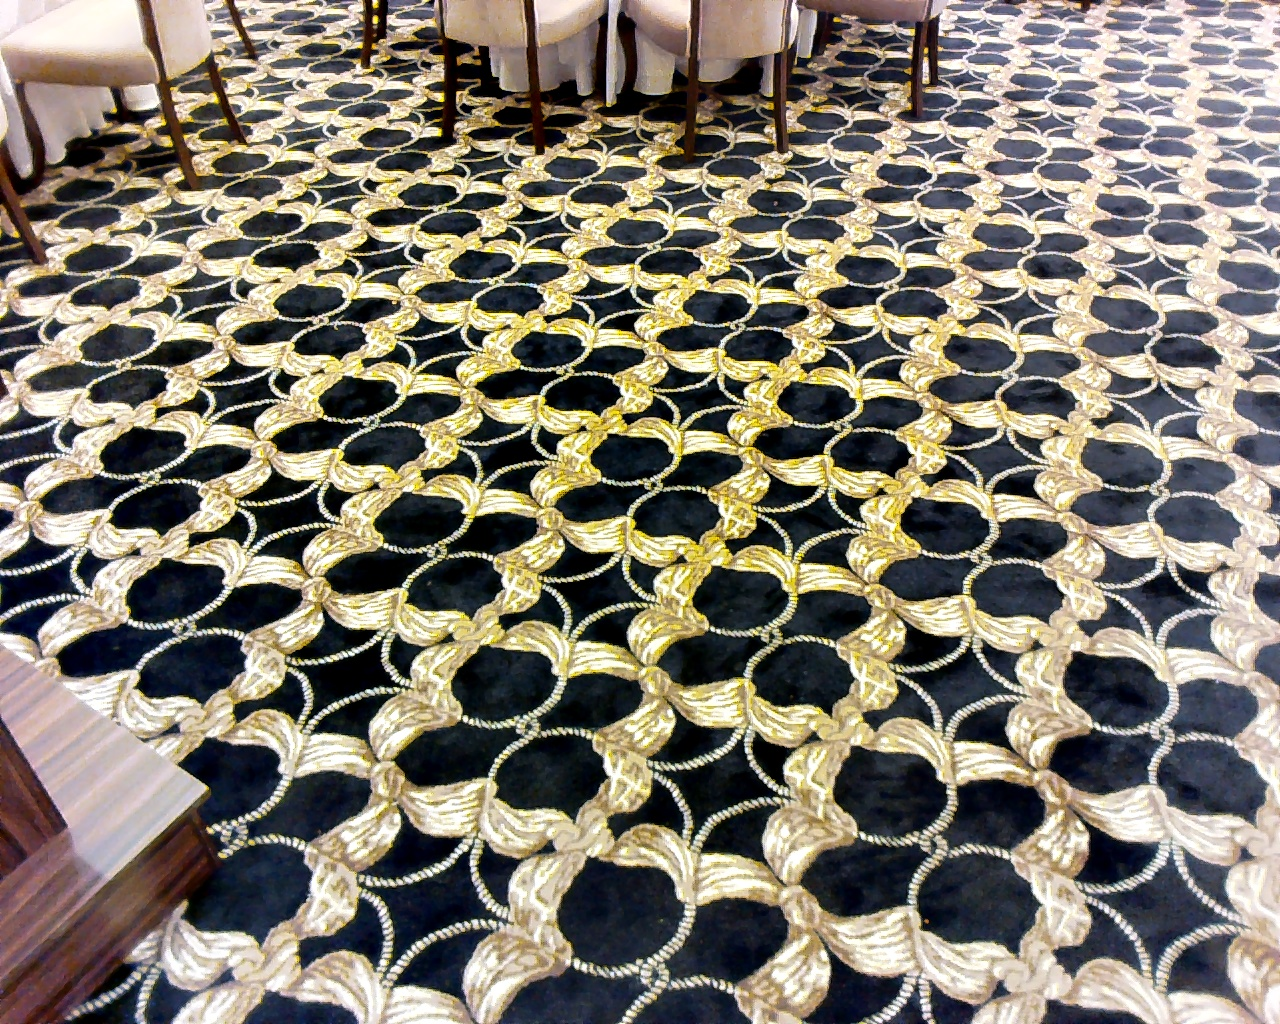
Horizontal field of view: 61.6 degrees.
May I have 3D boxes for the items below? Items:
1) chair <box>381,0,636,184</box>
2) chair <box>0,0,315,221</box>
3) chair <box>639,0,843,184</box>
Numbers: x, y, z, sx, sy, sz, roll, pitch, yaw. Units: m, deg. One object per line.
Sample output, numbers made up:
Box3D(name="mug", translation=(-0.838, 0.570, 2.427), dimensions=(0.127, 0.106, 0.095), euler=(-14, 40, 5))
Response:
Box3D(name="chair", translation=(-0.420, -1.820, 3.600), dimensions=(0.600, 1.100, 0.740), euler=(14, 43, 14))
Box3D(name="chair", translation=(-1.570, -1.600, 3.350), dimensions=(0.660, 1.100, 0.590), euler=(14, 43, 14))
Box3D(name="chair", translation=(0.310, -1.750, 3.530), dimensions=(0.560, 1.090, 0.660), euler=(-3, 42, -5))
